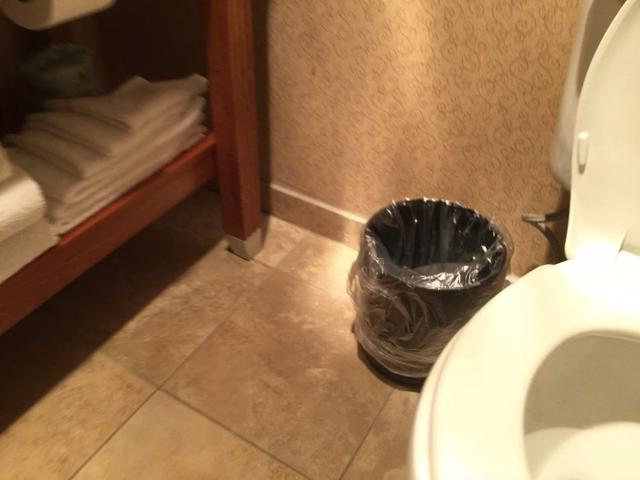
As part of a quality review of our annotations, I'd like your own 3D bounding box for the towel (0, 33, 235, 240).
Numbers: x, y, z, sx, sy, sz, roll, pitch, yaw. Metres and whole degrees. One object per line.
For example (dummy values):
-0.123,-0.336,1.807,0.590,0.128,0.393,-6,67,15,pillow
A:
-0.350,-0.190,0.930,0.230,0.120,0.380,23,45,22,towel
